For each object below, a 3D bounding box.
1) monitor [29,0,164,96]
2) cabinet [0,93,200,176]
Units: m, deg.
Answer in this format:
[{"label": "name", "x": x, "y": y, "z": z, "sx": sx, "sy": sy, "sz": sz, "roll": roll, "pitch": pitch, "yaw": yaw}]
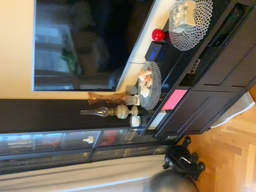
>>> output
[{"label": "monitor", "x": -0.210, "y": -0.400, "z": 1.270, "sx": 1.110, "sy": 0.640, "sz": 0.080, "roll": 121, "pitch": 145, "yaw": -44}, {"label": "cabinet", "x": -0.550, "y": 0.370, "z": 2.020, "sx": 0.810, "sy": 2.430, "sz": 0.330, "roll": 118, "pitch": 145, "yaw": -44}]
